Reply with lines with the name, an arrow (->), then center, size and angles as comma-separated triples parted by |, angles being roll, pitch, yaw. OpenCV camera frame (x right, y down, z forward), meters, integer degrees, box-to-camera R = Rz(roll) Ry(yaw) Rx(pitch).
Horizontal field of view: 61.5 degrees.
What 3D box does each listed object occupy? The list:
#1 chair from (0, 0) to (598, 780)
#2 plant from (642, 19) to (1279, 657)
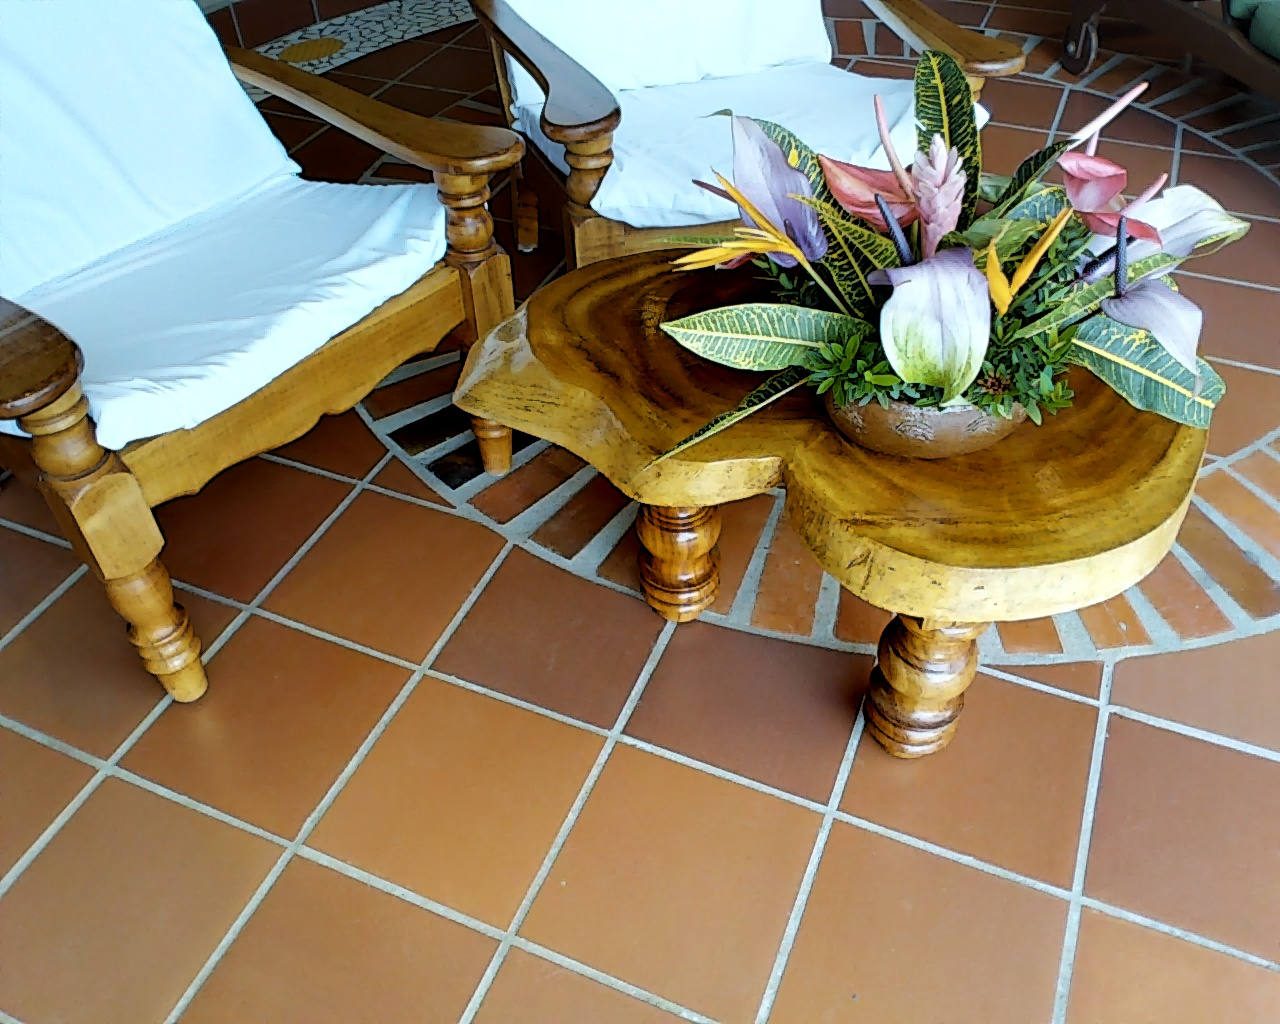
chair -> -0.790, -0.470, 1.630 | 1.090, 1.050, 0.870 | 26, 49, 27
plant -> 0.350, -0.210, 1.090 | 0.580, 0.340, 0.500 | -11, 43, -9
